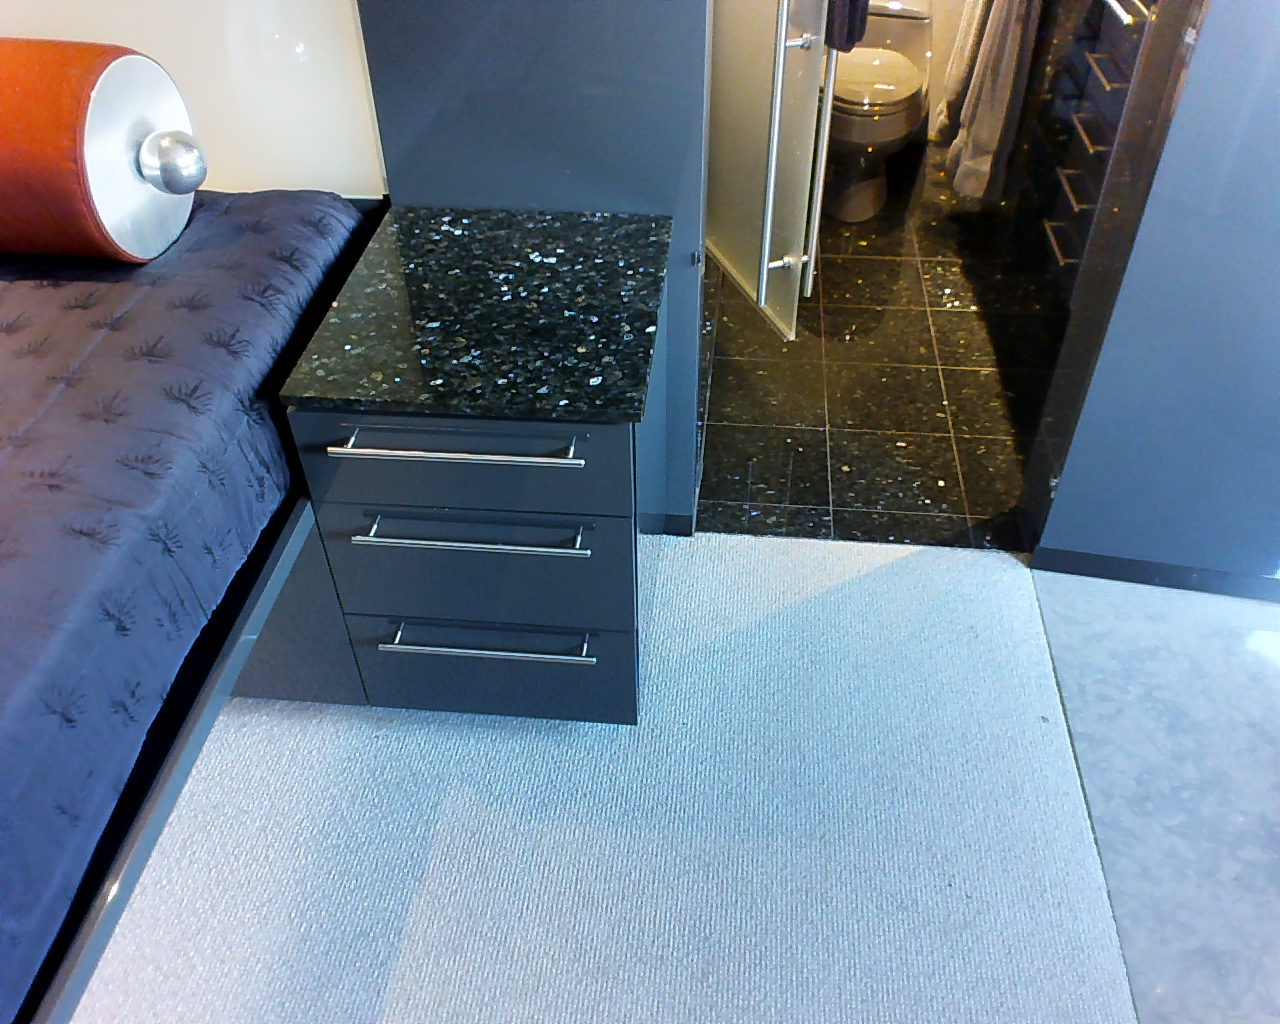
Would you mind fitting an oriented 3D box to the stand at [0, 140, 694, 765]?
[{"bbox_3d":[-1.450,-0.160,2.030,3.059,0.850,0.670,3,41,5],"label":"stand"}]
